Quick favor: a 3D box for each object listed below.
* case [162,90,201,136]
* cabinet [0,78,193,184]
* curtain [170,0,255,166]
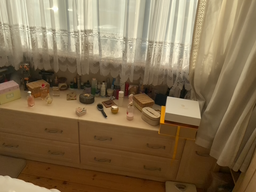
[{"bbox_3d":[0.390,0.120,1.610,0.230,0.200,0.290,8,29,4],"label":"case"},{"bbox_3d":[-0.590,0.270,1.950,2.150,0.560,0.520,6,29,2],"label":"cabinet"},{"bbox_3d":[0.680,-0.500,1.210,0.200,1.840,0.610,-13,34,-29],"label":"curtain"}]
